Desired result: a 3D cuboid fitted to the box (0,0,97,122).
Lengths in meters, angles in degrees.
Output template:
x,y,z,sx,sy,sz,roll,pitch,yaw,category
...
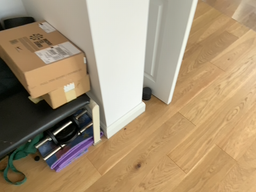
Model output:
x,y,z,sx,sy,sz,roll,pitch,yaw,category
-0.410,-0.180,0.980,0.290,0.260,0.460,-35,60,-24,box
